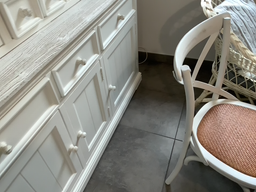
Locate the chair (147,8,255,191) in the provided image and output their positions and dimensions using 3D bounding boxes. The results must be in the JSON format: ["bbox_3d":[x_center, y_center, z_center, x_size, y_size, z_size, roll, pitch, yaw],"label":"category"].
[{"bbox_3d":[0.450,0.150,1.020,0.550,0.870,0.460,27,52,28],"label":"chair"}]

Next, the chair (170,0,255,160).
[{"bbox_3d":[0.780,-0.210,1.390,0.590,0.830,0.710,-30,50,-24],"label":"chair"}]
